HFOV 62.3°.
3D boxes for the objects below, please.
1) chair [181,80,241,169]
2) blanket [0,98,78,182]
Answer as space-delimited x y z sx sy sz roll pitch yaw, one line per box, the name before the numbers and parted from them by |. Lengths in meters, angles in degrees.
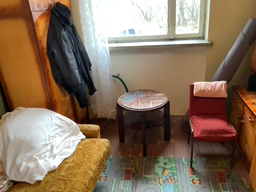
chair | 0.830 0.280 2.280 0.460 0.750 0.560 1 23 11
blanket | -0.910 0.340 1.940 0.600 0.390 0.700 1 23 12
